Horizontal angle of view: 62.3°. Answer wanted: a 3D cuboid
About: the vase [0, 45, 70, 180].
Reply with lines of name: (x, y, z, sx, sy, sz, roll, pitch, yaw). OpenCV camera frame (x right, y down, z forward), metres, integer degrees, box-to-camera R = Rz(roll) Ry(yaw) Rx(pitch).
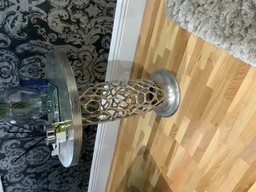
vase: (-0.550, 0.060, 0.790, 0.320, 0.560, 0.410, 44, 133, 45)
